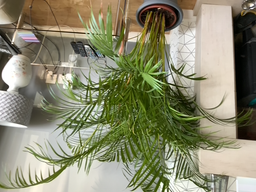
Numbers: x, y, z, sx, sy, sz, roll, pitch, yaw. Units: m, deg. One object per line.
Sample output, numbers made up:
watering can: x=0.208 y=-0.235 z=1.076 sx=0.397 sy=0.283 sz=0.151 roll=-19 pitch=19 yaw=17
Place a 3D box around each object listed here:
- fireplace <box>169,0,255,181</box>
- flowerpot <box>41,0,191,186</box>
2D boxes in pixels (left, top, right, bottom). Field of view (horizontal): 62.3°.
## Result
fireplace: x=1.130 y=-0.040 z=1.400 sx=1.540 sy=1.150 sz=0.810 roll=5 pitch=164 yaw=3
flowerpot: x=0.000 y=-0.200 z=1.380 sx=0.650 sy=1.330 sz=0.550 roll=5 pitch=164 yaw=1
